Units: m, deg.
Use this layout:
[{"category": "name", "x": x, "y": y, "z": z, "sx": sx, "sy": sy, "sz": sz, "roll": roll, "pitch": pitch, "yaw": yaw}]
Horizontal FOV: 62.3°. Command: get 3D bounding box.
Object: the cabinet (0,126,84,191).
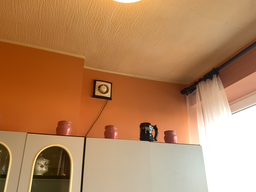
[{"category": "cabinet", "x": -0.570, "y": 0.540, "z": 1.080, "sx": 0.580, "sy": 0.690, "sz": 0.320, "roll": 8, "pitch": -25, "yaw": -21}]
